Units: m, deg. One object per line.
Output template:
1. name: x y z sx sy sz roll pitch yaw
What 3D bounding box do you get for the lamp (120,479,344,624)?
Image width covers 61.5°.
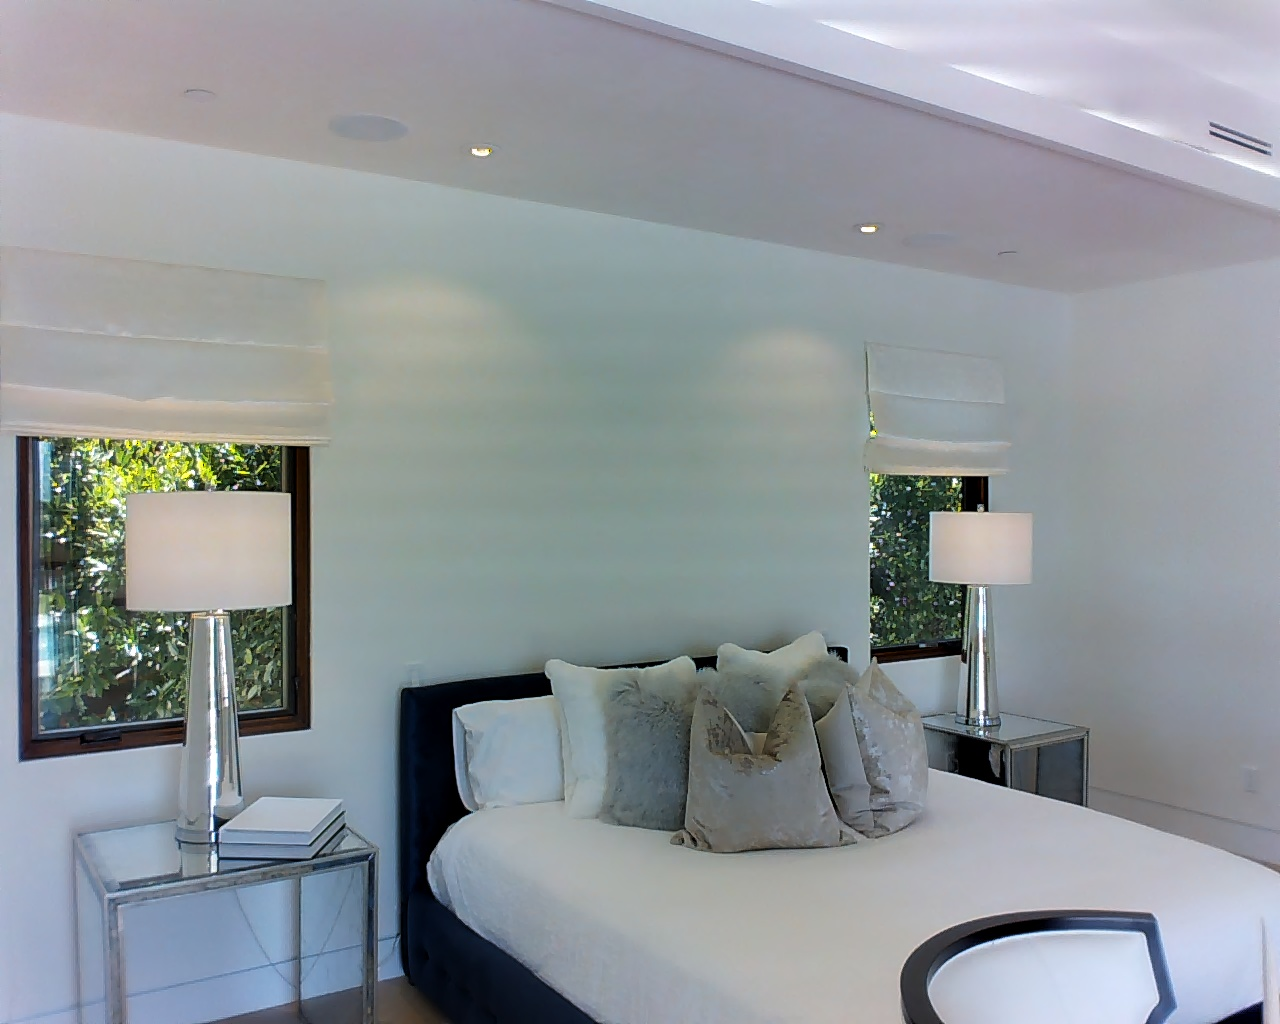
1. lamp: -1.210 0.100 3.170 0.530 0.380 0.490 0 1 -32

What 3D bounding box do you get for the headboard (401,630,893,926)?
1. headboard: 0.130 0.950 4.240 2.110 0.790 0.340 -1 1 -34

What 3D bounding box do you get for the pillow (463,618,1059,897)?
1. pillow: 0.430 0.740 3.790 1.760 0.520 1.150 -1 1 -34
